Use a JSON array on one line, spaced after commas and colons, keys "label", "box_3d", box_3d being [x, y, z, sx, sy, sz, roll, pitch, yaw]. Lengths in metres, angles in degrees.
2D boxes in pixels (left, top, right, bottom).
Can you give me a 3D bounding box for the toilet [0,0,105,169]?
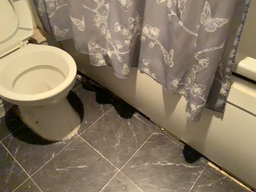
[{"label": "toilet", "box_3d": [-0.530, -0.170, 1.010, 0.680, 0.760, 0.390, 31, 55, 27]}]
